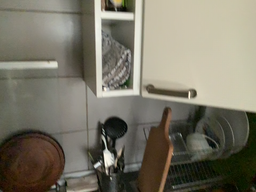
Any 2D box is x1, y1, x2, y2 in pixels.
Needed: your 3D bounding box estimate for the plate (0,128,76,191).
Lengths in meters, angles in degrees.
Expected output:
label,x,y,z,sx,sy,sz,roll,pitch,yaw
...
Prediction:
label,x,y,z,sx,sy,sz,roll,pitch,yaw
plate,-0.400,0.290,0.890,0.330,0.250,0.110,-4,16,-20
